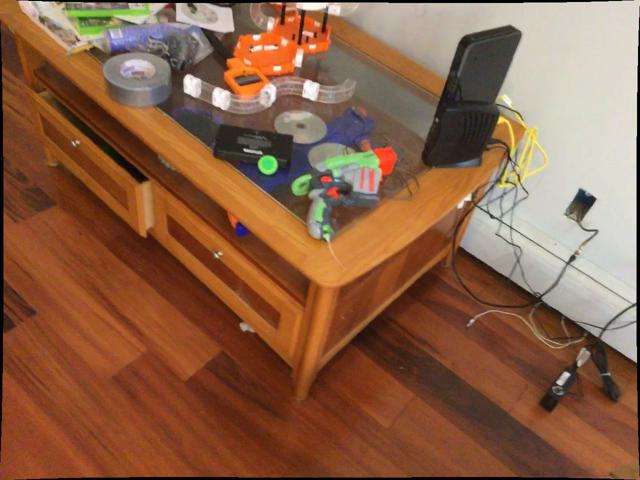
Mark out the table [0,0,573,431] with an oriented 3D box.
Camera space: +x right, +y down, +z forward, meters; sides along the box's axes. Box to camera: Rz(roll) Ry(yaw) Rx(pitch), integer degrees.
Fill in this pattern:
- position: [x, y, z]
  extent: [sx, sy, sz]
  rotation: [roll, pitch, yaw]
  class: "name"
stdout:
- position: [-0.180, -0.320, 1.580]
  extent: [1.250, 0.640, 0.840]
  rotation: [35, 49, 21]
  class: "table"
